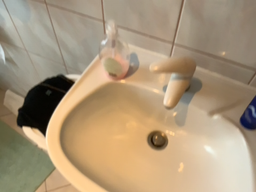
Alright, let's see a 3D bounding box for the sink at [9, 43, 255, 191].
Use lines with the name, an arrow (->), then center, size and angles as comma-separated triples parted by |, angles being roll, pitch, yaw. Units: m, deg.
sink -> 0.070, 0.130, 0.620 | 0.570, 0.190, 0.430 | 22, 56, 14
